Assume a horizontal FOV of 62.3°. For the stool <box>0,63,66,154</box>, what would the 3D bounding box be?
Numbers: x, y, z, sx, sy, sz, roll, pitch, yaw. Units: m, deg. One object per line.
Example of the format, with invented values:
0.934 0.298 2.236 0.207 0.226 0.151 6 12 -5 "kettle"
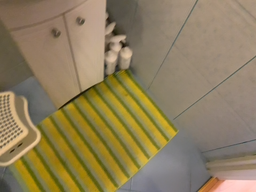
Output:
-0.510 0.060 1.070 0.250 0.130 0.370 -23 74 -16 "stool"
